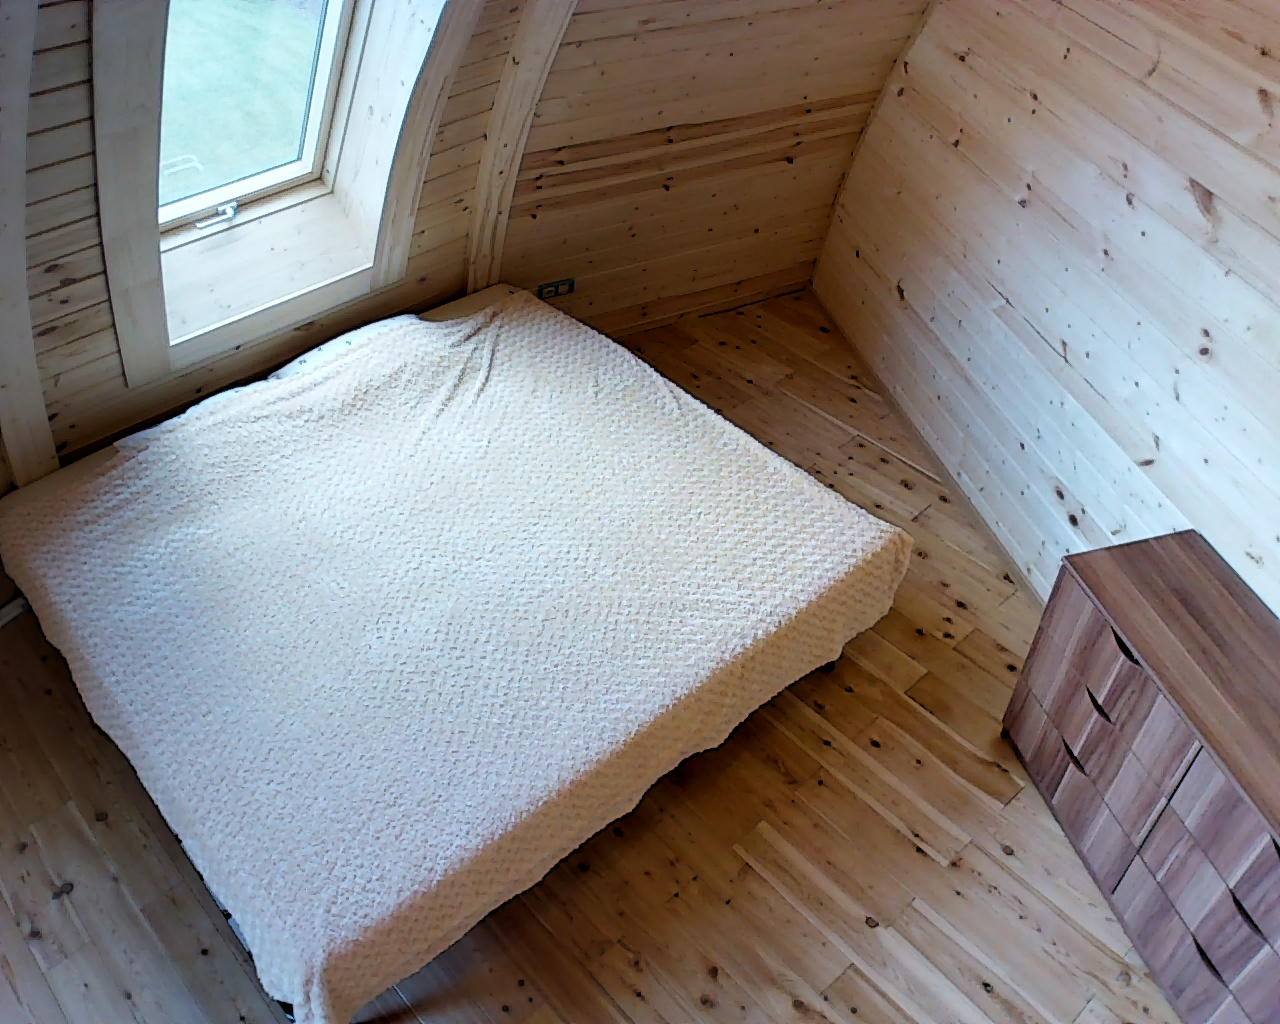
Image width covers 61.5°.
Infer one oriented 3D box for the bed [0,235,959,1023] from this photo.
[{"bbox_3d":[-0.670,0.180,3.490,2.290,0.610,2.320,-32,52,-30],"label":"bed"}]
